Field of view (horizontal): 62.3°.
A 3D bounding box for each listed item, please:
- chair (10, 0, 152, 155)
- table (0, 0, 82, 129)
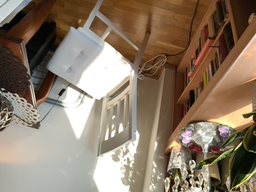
[{"bbox_3d":[-0.220,-0.170,1.320,0.490,0.840,0.410,34,137,-23],"label":"chair"},{"bbox_3d":[-0.760,-0.380,1.290,0.710,0.760,0.680,17,141,-4],"label":"table"}]
